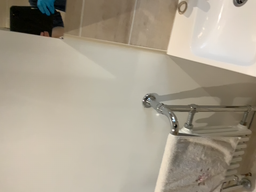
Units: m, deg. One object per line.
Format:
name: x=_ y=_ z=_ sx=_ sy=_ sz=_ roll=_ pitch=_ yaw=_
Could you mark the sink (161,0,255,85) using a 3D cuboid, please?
sink: x=0.350 y=-0.380 z=0.720 sx=0.440 sy=0.110 sz=0.590 roll=35 pitch=118 yaw=56
